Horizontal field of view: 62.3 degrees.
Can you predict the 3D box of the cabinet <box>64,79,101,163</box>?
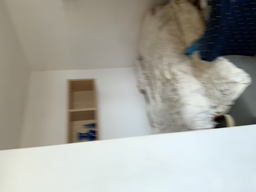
[{"bbox_3d":[-0.690,0.290,3.090,0.140,0.450,1.300,101,161,-52],"label":"cabinet"}]
